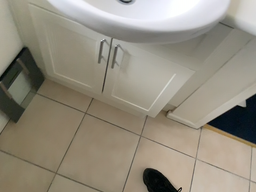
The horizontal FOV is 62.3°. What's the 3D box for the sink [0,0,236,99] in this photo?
[{"bbox_3d":[0.010,-0.330,0.570,0.510,0.170,0.500,22,63,-2],"label":"sink"}]
